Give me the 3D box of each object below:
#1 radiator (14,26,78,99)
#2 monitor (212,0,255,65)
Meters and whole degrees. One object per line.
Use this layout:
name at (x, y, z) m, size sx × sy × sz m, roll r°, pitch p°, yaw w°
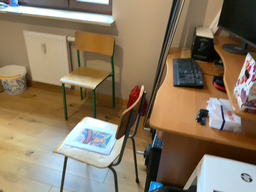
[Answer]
radiator at (-0.910, -0.370, 2.430) m, size 0.620 × 0.740 × 0.140 m, roll 12°, pitch 33°, yaw 12°
monitor at (0.770, -0.520, 1.400) m, size 0.050 × 0.430 × 0.620 m, roll 0°, pitch 32°, yaw -7°
